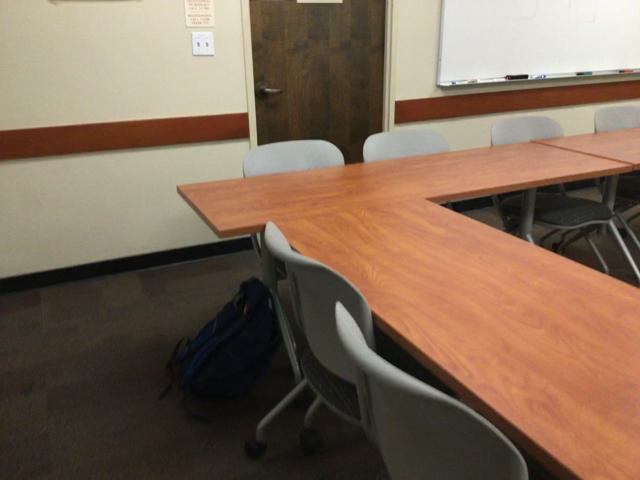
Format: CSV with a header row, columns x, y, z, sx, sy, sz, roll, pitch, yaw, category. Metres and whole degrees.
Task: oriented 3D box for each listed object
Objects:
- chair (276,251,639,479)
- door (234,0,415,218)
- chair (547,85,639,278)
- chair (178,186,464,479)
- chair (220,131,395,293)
x,y,z,sx,sy,sz,roll,pitch,yaw,category
0.320,0.540,1.150,0.570,0.800,0.550,-14,22,-22,chair
0.010,-1.200,3.210,0.890,2.010,0.160,-18,24,-20,door
1.720,-0.340,3.030,0.660,0.810,0.680,-14,22,-21,chair
-0.010,0.370,1.570,0.470,0.840,0.660,-14,22,-22,chair
-0.060,-0.150,2.360,0.500,0.450,0.540,-14,22,-21,chair
